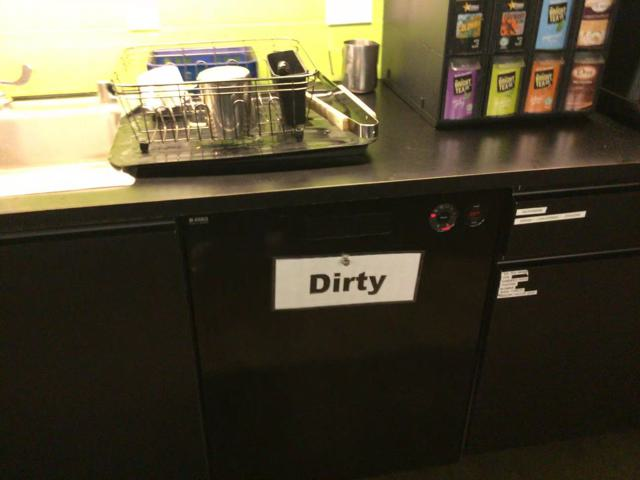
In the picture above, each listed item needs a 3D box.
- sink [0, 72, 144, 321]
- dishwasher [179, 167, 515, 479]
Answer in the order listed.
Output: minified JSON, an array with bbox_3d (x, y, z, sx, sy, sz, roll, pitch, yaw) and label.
[{"bbox_3d":[-0.760,-0.100,1.120,0.730,0.280,0.610,-8,27,-10],"label":"sink"},{"bbox_3d":[0.070,0.250,1.200,0.600,0.750,0.080,-8,27,-10],"label":"dishwasher"}]
